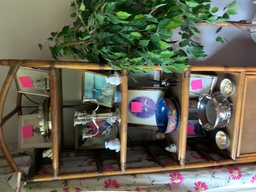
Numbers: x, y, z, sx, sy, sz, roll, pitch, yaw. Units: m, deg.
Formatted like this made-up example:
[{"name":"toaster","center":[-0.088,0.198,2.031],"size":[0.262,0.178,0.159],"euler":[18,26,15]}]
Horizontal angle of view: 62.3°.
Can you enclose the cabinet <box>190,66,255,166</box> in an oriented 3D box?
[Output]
[{"name":"cabinet","center":[0.900,0.100,1.620],"size":[0.490,0.610,0.630],"euler":[-147,58,-74]}]
